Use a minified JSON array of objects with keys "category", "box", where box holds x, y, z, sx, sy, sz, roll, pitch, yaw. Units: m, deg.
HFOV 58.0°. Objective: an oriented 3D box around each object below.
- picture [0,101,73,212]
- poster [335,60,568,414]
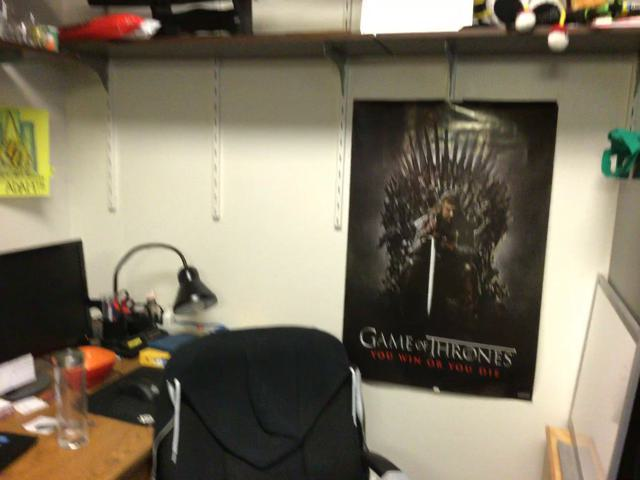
[{"category":"picture","box":[-0.960,-0.270,1.880,0.100,0.330,0.300,4,8,18]},{"category":"poster","box":[0.370,-0.010,1.770,0.640,1.020,0.040,4,8,18]}]
